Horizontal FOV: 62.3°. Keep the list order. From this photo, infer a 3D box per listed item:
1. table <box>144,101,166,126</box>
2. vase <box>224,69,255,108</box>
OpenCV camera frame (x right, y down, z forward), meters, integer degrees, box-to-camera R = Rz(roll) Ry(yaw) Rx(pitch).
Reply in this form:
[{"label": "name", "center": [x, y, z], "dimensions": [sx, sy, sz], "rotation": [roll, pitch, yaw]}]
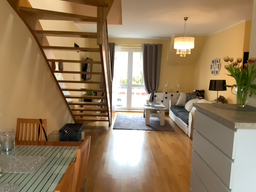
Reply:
[{"label": "table", "center": [0.780, 0.490, 6.350], "dimensions": [0.530, 0.520, 1.010], "rotation": [2, 7, 0]}, {"label": "vase", "center": [1.100, -0.080, 2.030], "dimensions": [0.200, 0.340, 0.290], "rotation": [2, 7, -1]}]
